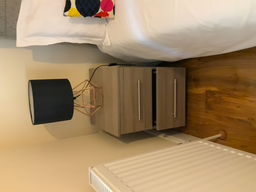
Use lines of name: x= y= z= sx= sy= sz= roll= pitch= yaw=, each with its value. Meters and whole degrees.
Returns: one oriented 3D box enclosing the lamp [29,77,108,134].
lamp: x=-0.350 y=0.030 z=1.250 sx=0.250 sy=0.390 sz=0.280 roll=10 pitch=102 yaw=58
